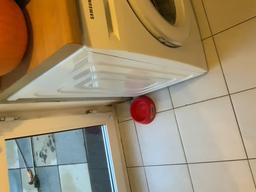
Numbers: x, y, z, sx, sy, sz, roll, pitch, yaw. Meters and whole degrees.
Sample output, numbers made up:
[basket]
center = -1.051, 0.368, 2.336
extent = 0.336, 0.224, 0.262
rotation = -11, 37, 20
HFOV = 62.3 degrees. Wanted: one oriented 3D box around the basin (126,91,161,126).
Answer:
[basin]
center = 0.100, 0.090, 1.470
extent = 0.220, 0.050, 0.200
rotation = -18, 79, 39
